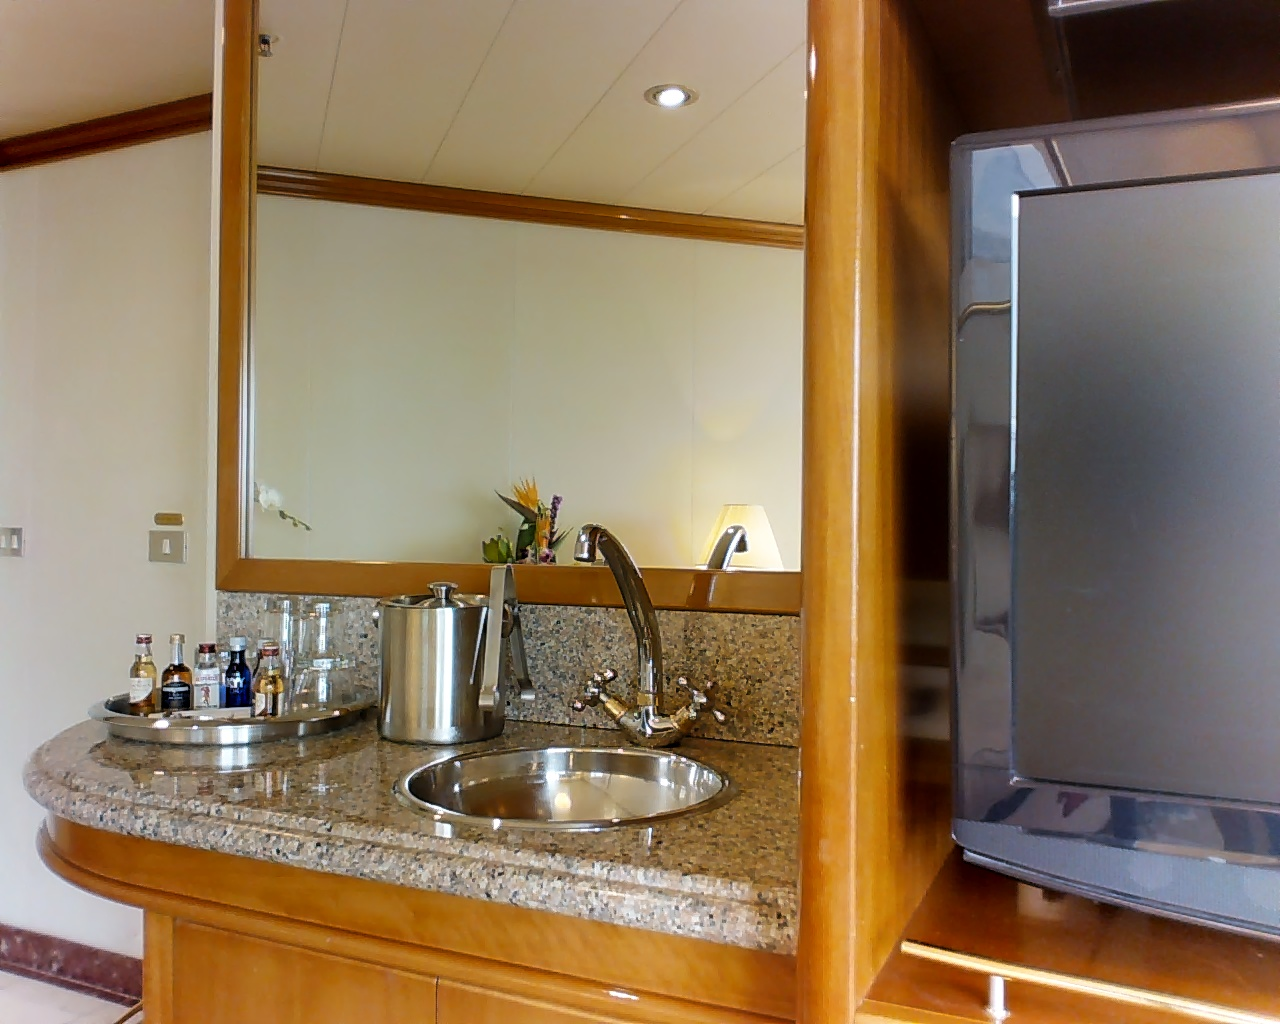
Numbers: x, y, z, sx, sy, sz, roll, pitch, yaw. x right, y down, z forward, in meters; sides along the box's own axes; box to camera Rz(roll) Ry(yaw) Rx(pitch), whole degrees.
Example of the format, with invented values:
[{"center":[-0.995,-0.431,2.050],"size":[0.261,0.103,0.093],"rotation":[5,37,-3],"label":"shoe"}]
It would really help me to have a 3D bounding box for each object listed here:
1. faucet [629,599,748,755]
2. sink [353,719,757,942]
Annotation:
[{"center":[0.060,0.190,1.280],"size":[0.090,0.160,0.140],"rotation":[1,0,27],"label":"faucet"},{"center":[-0.070,0.300,1.080],"size":[0.310,0.110,0.290],"rotation":[1,0,21],"label":"sink"}]
